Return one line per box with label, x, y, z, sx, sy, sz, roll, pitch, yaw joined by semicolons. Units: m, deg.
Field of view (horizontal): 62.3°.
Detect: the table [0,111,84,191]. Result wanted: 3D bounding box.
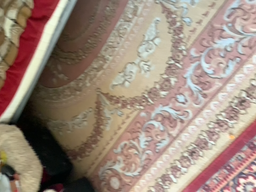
table;-0.670;0.420;1.480;0.540;0.370;0.320;44;112;23
